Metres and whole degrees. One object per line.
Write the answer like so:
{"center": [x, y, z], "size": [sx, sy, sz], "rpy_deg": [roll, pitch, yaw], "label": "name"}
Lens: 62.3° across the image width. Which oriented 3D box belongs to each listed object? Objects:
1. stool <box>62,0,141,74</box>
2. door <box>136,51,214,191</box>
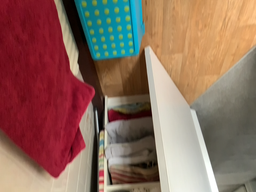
{"center": [-0.100, -0.370, 1.040], "size": [0.290, 0.240, 0.460], "rpy_deg": [-5, 140, 3], "label": "stool"}
{"center": [0.310, 0.550, 1.040], "size": [0.130, 1.550, 0.730], "rpy_deg": [-21, 137, 22], "label": "door"}
